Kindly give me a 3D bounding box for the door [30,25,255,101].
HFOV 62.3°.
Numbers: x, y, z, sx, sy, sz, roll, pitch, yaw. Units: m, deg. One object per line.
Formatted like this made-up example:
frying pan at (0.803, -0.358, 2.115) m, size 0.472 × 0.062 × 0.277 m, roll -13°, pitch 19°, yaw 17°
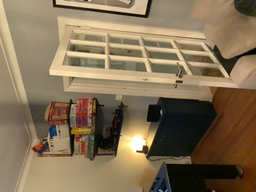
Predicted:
door at (0.310, -0.340, 2.010) m, size 0.920 × 2.090 × 0.100 m, roll -96°, pitch 12°, yaw -50°
